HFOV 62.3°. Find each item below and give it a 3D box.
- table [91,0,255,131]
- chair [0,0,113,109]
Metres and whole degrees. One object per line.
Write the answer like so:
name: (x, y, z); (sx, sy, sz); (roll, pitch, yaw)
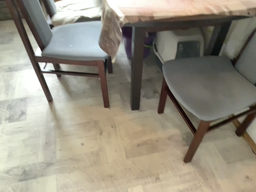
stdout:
table: (0.190, -0.560, 1.660); (0.820, 0.780, 1.310); (-8, 48, -10)
chair: (-0.380, -0.400, 1.320); (0.520, 1.000, 0.390); (2, 47, 0)
